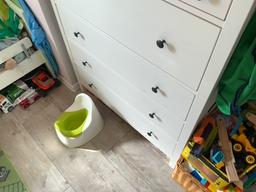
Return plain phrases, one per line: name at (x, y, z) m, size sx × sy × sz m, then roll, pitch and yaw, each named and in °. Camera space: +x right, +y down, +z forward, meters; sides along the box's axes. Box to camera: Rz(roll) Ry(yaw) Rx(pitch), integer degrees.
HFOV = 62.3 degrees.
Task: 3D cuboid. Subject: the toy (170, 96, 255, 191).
toy at (0.600, 0.420, 1.200) m, size 0.390 × 0.510 × 0.550 m, roll 39°, pitch 64°, yaw 24°
